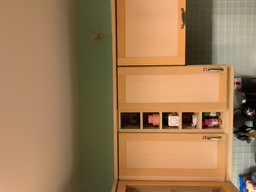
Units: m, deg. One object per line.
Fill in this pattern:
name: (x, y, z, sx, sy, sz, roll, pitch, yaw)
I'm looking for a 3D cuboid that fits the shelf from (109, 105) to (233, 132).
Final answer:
shelf: (0.290, 0.160, 1.580, 0.310, 0.820, 0.140, -57, -34, -86)
